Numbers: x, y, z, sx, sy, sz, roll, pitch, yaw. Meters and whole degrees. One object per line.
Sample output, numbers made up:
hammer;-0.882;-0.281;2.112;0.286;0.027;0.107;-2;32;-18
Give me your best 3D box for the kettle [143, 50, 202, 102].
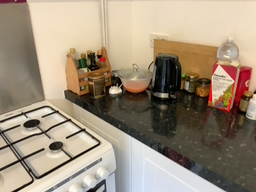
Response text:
kettle;0.250;-0.130;1.230;0.240;0.210;0.210;22;33;39
